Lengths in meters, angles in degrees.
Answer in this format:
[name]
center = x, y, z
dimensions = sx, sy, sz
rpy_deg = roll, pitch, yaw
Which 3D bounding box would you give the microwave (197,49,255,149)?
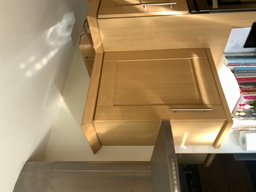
[microwave]
center = 0.760, 0.000, 1.380
dimensions = 0.290, 0.460, 0.600
rpy_deg = 85, -174, -50

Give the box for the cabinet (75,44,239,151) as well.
[cabinet]
center = 0.160, 0.000, 1.410
dimensions = 0.340, 0.830, 0.620
rpy_deg = 84, -174, -51
